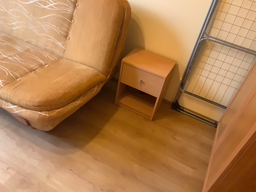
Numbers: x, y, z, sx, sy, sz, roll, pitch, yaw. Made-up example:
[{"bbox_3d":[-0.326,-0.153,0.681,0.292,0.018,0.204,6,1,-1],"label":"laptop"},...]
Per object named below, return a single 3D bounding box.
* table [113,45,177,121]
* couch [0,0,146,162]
[{"bbox_3d":[0.140,-0.120,1.900,0.370,0.480,0.330,27,41,17],"label":"table"},{"bbox_3d":[-1.020,-0.560,1.790,1.940,0.890,1.100,24,40,14],"label":"couch"}]
